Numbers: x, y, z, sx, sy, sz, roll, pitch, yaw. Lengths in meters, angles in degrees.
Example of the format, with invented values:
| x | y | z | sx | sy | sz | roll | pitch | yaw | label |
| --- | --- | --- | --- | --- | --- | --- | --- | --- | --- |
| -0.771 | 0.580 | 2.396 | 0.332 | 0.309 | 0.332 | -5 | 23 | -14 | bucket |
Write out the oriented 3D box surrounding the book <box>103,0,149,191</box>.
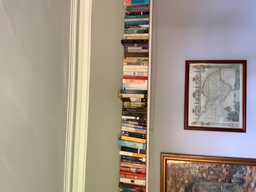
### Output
| x | y | z | sx | sy | sz | roll | pitch | yaw | label |
| --- | --- | --- | --- | --- | --- | --- | --- | --- | --- |
| -0.020 | 1.030 | 1.700 | 0.240 | 0.310 | 4.220 | 3 | -93 | -78 | book |
